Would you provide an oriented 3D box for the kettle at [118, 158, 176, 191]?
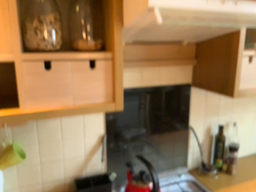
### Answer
[{"bbox_3d":[0.080,0.450,1.010,0.200,0.200,0.200,-5,14,-21],"label":"kettle"}]
